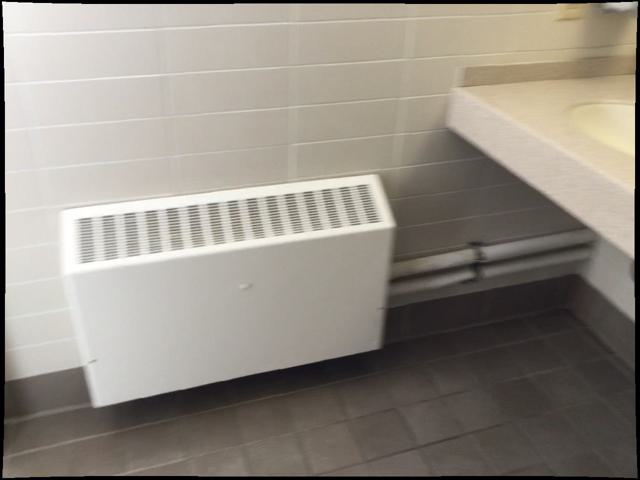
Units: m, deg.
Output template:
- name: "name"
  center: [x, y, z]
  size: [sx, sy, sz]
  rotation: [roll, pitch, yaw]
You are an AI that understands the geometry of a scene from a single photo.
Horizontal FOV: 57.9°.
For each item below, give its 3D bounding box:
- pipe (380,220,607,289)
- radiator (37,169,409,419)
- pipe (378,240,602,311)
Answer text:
- name: "pipe"
  center: [0.559, 0.040, 1.840]
  size: [0.759, 0.090, 0.060]
  rotation: [-8, 32, -13]
- name: "radiator"
  center: [-0.220, 0.140, 1.580]
  size: [0.879, 0.540, 0.180]
  rotation: [-8, 32, -13]
- name: "pipe"
  center: [0.559, 0.110, 1.880]
  size: [0.759, 0.100, 0.060]
  rotation: [-8, 32, -13]
